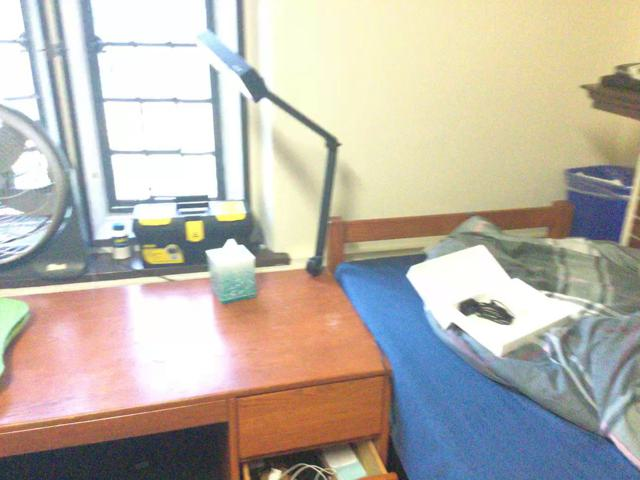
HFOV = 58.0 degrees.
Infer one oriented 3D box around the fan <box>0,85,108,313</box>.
[{"bbox_3d":[-1.020,-0.120,1.770,0.610,0.650,0.240,-5,23,-14],"label":"fan"}]
